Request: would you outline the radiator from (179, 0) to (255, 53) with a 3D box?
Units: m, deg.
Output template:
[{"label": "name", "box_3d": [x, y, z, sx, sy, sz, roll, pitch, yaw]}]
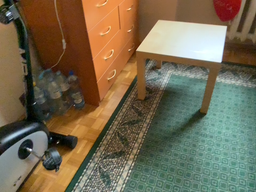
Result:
[{"label": "radiator", "box_3d": [1.010, -0.790, 2.000, 0.930, 0.630, 0.240, 13, 44, 19]}]

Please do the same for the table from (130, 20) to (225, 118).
[{"label": "table", "box_3d": [0.400, -0.250, 1.720, 0.580, 0.460, 0.570, 13, 44, 19]}]
